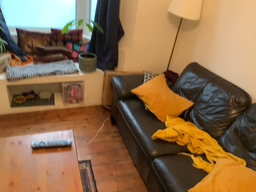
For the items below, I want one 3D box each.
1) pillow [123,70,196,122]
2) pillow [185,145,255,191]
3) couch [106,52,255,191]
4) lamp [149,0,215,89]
[{"bbox_3d":[0.290,-0.030,2.090,0.420,0.200,0.560,-14,36,-35],"label":"pillow"},{"bbox_3d":[0.660,0.550,1.190,0.480,0.090,0.510,31,36,34],"label":"pillow"},{"bbox_3d":[0.600,0.390,1.690,0.950,0.770,2.190,-4,32,-21],"label":"couch"},{"bbox_3d":[0.570,-0.640,2.360,0.370,1.090,0.330,-4,32,-21],"label":"lamp"}]
